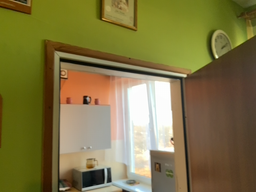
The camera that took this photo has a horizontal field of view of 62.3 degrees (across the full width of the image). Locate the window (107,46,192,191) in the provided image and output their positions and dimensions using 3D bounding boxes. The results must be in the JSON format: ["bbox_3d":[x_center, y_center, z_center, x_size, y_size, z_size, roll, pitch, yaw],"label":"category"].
[{"bbox_3d":[0.180,0.420,3.150,0.150,1.870,1.650,3,-8,-35],"label":"window"}]

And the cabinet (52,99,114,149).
[{"bbox_3d":[-0.680,0.410,3.250,0.800,0.670,0.450,4,-8,-37],"label":"cabinet"}]
